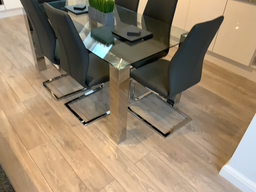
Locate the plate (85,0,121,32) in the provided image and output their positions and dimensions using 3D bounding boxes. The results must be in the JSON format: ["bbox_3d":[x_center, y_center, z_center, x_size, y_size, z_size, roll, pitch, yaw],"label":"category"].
[{"bbox_3d":[-0.230,-0.780,1.930,0.130,0.260,0.360,-27,47,-32],"label":"plate"}]
